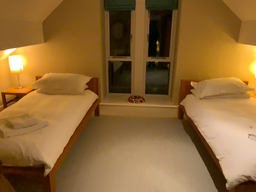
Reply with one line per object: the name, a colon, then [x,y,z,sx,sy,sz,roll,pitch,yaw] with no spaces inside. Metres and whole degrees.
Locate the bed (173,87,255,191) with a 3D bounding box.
bed: [1.400,0.420,2.680,1.170,0.560,2.090,1,17,-1]

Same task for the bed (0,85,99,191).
bed: [-1.120,0.390,2.750,1.110,0.530,2.090,2,17,2]

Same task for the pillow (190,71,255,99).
pillow: [1.410,-0.180,3.250,0.760,0.290,0.450,1,18,1]
